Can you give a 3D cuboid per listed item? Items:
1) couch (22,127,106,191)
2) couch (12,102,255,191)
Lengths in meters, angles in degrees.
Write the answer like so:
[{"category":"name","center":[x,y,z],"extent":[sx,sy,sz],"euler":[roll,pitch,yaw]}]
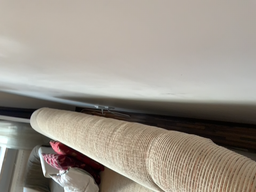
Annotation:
[{"category":"couch","center":[-0.780,0.870,2.480],"extent":[0.650,0.640,0.670],"euler":[-62,38,18]},{"category":"couch","center":[0.020,0.590,1.290],"extent":[1.820,0.910,0.870],"euler":[2,80,53]}]
